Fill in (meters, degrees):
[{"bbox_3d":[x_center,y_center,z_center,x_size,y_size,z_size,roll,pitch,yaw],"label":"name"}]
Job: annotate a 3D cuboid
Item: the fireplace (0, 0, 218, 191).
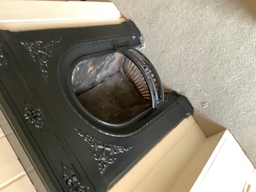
[{"bbox_3d":[-0.110,-0.010,1.010,0.310,0.950,0.920,-39,82,41],"label":"fireplace"}]
